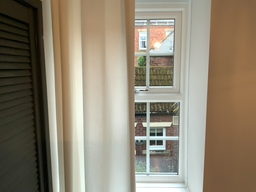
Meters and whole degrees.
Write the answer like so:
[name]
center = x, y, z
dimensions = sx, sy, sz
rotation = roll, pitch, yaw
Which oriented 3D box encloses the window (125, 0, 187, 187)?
[window]
center = 0.210, -0.010, 1.690
dimensions = 0.450, 1.500, 0.120
rotation = 0, 8, 2
